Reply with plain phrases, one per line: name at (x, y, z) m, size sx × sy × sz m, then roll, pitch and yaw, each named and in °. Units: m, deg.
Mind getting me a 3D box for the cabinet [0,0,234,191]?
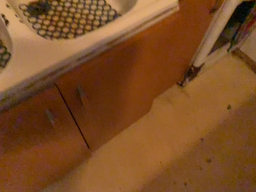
cabinet at (-0.230, -0.180, 0.970) m, size 1.100 × 0.830 × 0.630 m, roll -34°, pitch 69°, yaw -18°
